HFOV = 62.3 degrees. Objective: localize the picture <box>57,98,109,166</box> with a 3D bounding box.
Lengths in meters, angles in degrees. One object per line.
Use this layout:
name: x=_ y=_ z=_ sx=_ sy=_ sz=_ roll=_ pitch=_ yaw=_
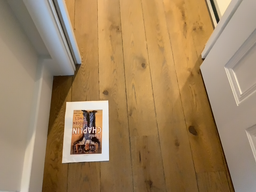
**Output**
picture: x=-0.200 y=0.160 z=0.990 sx=0.220 sy=0.030 sz=0.310 roll=0 pitch=66 yaw=-3
